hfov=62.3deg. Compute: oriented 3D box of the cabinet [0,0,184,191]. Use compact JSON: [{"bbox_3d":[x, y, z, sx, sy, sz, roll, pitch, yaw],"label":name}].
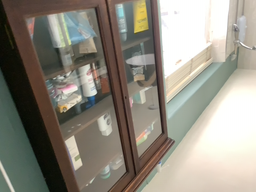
[{"bbox_3d":[-0.030,0.010,0.800,0.190,0.850,0.690,13,-148,37],"label":"cabinet"}]
